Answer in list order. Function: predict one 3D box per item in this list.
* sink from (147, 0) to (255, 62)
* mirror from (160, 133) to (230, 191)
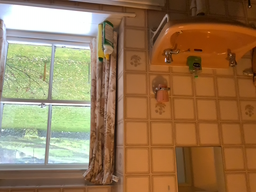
[{"bbox_3d":[0.470,-0.380,1.260,0.620,0.180,0.420,1,168,-10],"label":"sink"},{"bbox_3d":[0.380,0.430,1.240,0.340,0.410,0.150,1,168,-5],"label":"mirror"}]
